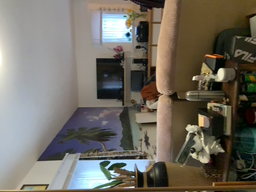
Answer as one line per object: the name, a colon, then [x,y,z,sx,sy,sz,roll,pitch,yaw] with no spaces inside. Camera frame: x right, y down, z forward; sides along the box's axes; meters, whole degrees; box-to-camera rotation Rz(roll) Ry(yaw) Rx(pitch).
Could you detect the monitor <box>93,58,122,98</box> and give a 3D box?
monitor: [-0.450,-0.400,4.810,0.050,0.630,0.920,-101,10,-74]
